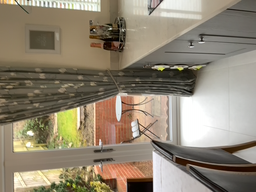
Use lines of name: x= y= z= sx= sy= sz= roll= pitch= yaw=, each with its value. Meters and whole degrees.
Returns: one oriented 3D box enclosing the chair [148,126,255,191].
chair: x=0.620 y=0.540 z=1.430 sx=0.390 sy=0.880 sz=0.540 roll=-161 pitch=71 yaw=-74
